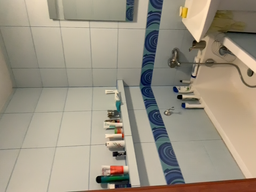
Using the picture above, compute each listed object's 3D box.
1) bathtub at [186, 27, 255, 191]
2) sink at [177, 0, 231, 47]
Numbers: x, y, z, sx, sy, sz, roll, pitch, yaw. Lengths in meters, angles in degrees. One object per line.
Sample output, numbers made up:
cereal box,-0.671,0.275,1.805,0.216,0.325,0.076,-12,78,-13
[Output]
bathtub,1.050,0.090,1.570,1.580,0.580,0.690,-102,14,-54
sink,0.580,-0.750,1.610,0.450,0.160,0.600,-102,13,-53
